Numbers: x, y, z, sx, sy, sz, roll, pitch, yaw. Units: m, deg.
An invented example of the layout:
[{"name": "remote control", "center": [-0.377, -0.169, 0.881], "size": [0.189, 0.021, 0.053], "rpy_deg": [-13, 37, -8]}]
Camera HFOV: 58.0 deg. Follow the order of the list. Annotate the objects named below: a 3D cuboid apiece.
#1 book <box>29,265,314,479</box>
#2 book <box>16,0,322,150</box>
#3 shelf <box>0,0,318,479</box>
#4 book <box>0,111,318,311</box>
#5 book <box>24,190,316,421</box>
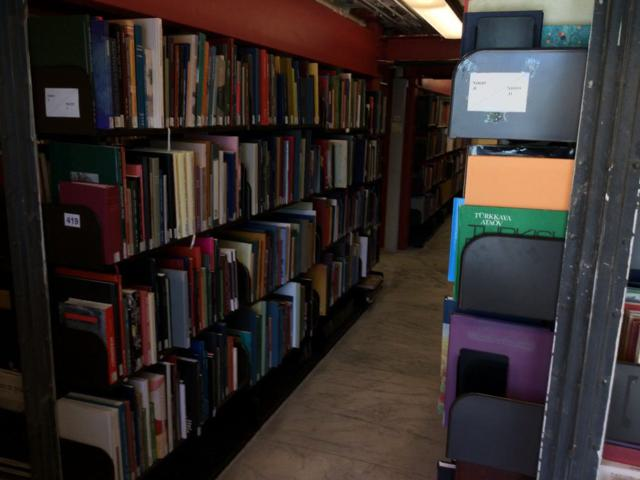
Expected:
[{"name": "book", "center": [-0.450, 0.520, 2.370], "size": [0.360, 0.450, 1.430], "rpy_deg": [5, 14, 20]}, {"name": "book", "center": [-0.400, -0.600, 2.220], "size": [0.310, 0.390, 1.510], "rpy_deg": [5, 14, 20]}, {"name": "shelf", "center": [-0.710, 0.050, 2.350], "size": [0.890, 1.870, 1.620], "rpy_deg": [5, 14, 19]}, {"name": "book", "center": [-0.480, -0.240, 2.320], "size": [0.430, 0.530, 1.520], "rpy_deg": [5, 14, 20]}, {"name": "book", "center": [-0.440, 0.130, 2.350], "size": [0.340, 0.450, 1.490], "rpy_deg": [5, 14, 20]}]
